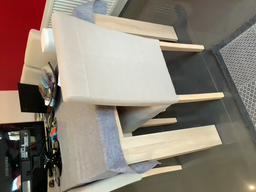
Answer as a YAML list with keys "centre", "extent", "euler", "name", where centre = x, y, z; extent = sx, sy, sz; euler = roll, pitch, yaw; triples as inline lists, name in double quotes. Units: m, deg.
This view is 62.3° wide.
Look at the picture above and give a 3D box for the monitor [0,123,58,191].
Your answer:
- centre: [-0.780, 0.480, 1.570]
  extent: [0.040, 0.460, 0.520]
  euler: [-24, 71, 56]
  name: "monitor"
